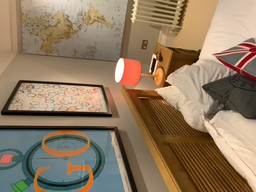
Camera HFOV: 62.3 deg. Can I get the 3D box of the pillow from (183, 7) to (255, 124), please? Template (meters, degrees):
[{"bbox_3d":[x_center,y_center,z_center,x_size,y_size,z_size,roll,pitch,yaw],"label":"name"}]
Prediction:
[{"bbox_3d":[0.660,-0.200,1.180,0.320,0.450,0.470,60,-179,-34],"label":"pillow"}]
